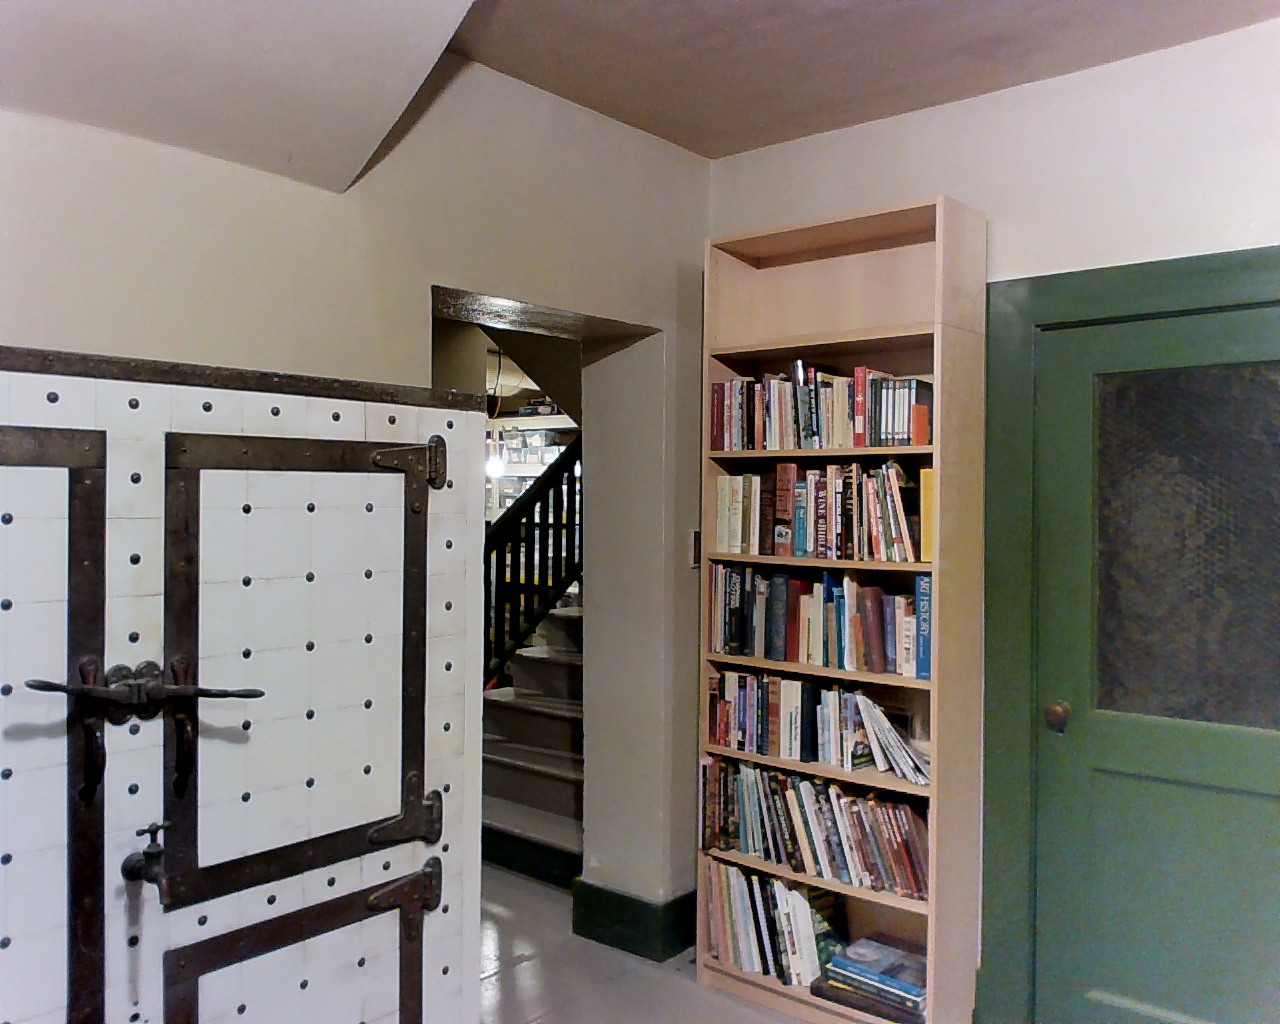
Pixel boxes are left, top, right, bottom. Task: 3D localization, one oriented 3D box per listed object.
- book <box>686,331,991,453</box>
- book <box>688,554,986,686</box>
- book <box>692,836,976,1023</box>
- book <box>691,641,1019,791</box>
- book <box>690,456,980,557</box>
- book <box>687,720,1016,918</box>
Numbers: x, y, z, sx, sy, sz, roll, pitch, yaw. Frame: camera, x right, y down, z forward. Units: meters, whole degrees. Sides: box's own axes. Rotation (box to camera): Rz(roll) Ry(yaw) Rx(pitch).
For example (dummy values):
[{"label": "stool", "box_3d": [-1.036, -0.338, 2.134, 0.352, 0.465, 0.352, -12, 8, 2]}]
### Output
[{"label": "book", "box_3d": [0.580, -0.340, 3.260, 0.860, 0.290, 0.320, 1, 1, 40]}, {"label": "book", "box_3d": [0.570, 0.300, 3.240, 0.850, 0.310, 0.290, 1, 1, 41]}, {"label": "book", "box_3d": [0.570, 1.290, 3.260, 0.790, 0.390, 0.310, 1, 1, 39]}, {"label": "book", "box_3d": [0.660, 0.600, 3.350, 0.820, 0.270, 0.580, 1, 1, 42]}, {"label": "book", "box_3d": [0.570, -0.020, 3.260, 0.820, 0.270, 0.310, 1, 1, 41]}, {"label": "book", "box_3d": [0.650, 0.910, 3.350, 0.830, 0.330, 0.570, 1, 1, 39]}]
